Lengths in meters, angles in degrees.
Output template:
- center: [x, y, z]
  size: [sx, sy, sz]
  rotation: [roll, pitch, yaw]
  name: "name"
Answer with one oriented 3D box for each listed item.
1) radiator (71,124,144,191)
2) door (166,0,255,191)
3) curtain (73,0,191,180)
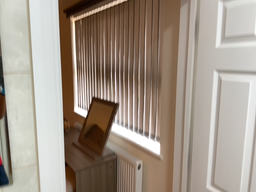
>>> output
- center: [-0.300, 0.720, 2.270]
  size: [0.090, 0.540, 1.290]
  rotation: [-7, 12, -37]
  name: "radiator"
- center: [0.450, 0.420, 1.050]
  size: [0.020, 2.040, 0.800]
  rotation: [-4, 11, -26]
  name: "door"
- center: [-0.200, -0.240, 2.210]
  size: [0.040, 1.340, 2.060]
  rotation: [-6, 12, -32]
  name: "curtain"
